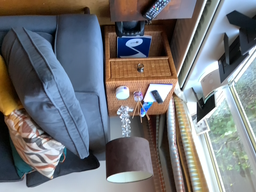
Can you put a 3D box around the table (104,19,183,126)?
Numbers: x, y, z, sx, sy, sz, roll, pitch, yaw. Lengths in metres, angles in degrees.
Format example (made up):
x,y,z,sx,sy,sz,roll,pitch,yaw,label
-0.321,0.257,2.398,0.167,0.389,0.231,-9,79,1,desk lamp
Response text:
x,y,z,sx,sy,sz,roll,pitch,yaw,label
0.060,-0.150,1.560,0.440,0.510,0.590,-2,147,-4,table

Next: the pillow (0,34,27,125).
x,y,z,sx,sy,sz,roll,pitch,yaw,label
-0.620,-0.080,0.990,0.160,0.320,0.280,-18,141,-36,pillow

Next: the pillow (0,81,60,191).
x,y,z,sx,sy,sz,roll,pitch,yaw,label
-0.580,0.250,1.230,0.150,0.450,0.480,-28,152,-35,pillow
